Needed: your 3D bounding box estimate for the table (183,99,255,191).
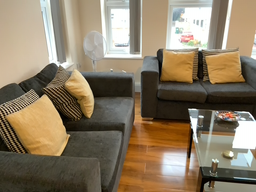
[{"bbox_3d":[0.840,0.440,1.790,0.600,0.450,0.970,2,23,8],"label":"table"}]
